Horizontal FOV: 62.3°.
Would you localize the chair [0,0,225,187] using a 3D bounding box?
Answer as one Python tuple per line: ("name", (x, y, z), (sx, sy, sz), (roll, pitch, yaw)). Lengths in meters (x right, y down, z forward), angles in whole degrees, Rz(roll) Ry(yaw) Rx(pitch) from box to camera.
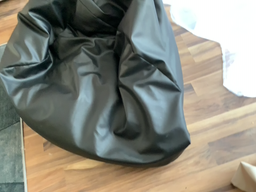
("chair", (-0.130, -0.220, 0.940), (0.910, 0.380, 0.880), (16, 69, 15))
